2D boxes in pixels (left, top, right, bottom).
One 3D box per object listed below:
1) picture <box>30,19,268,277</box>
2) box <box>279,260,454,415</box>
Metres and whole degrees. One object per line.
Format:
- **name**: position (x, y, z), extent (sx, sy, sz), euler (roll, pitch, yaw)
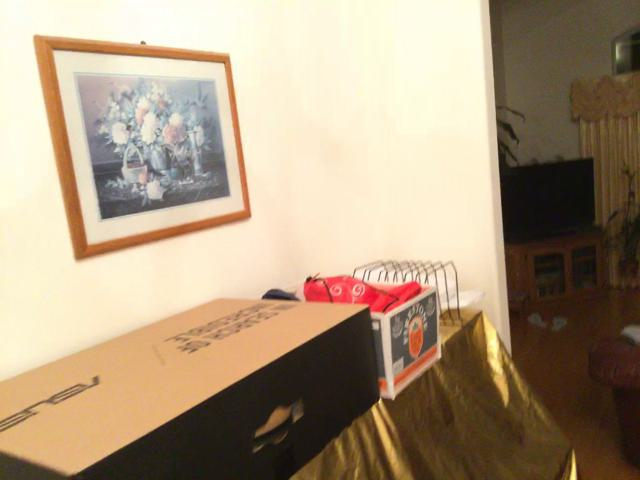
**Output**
- **picture**: position (-0.360, -0.230, 1.400), extent (0.040, 0.510, 0.590), euler (-2, 10, 34)
- **box**: position (0.130, 0.230, 1.500), extent (0.310, 0.290, 0.310), euler (-2, 10, 34)
